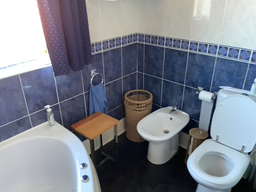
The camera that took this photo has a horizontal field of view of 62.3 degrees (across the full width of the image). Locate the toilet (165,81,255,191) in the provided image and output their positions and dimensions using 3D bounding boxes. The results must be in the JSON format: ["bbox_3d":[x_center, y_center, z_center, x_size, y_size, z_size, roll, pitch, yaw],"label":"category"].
[{"bbox_3d":[0.690,0.420,1.630,0.440,0.810,0.690,23,35,37],"label":"toilet"}]

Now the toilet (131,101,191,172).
[{"bbox_3d":[0.330,0.380,2.150,0.380,0.430,0.460,22,35,35],"label":"toilet"}]
